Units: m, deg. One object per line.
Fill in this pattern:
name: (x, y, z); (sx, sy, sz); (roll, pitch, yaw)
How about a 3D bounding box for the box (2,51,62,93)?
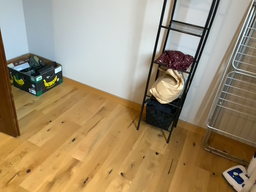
box: (-1.080, -0.290, 2.430); (0.470, 0.220, 0.400); (21, 35, 16)
